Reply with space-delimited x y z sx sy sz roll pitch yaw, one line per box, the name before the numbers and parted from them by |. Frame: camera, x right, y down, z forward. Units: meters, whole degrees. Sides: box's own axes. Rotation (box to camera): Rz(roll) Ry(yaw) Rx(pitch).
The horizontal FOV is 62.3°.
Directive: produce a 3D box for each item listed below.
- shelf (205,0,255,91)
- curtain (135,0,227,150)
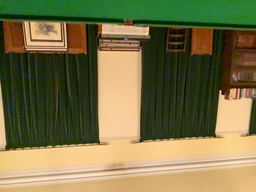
shelf | 2.130 -0.990 4.190 0.910 1.720 0.450 -1 -170 -10
curtain | 0.990 -0.450 4.170 1.570 2.950 0.380 -1 -170 -11
